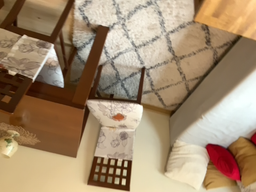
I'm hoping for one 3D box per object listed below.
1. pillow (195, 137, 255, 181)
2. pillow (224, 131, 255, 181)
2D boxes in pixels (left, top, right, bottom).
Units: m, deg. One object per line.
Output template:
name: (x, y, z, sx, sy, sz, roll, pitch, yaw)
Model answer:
pillow: (0.940, 0.630, 2.090, 0.410, 0.260, 0.320, 20, 144, -15)
pillow: (1.110, 0.540, 1.890, 0.240, 0.310, 0.360, 25, 142, -21)
